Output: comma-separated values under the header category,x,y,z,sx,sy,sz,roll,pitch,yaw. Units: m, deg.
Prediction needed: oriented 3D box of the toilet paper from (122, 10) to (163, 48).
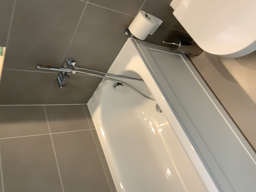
category,x,y,z,sx,sy,sz,roll,pitch,yaw
toilet paper,0.080,-0.370,1.190,0.160,0.140,0.090,-50,54,39
